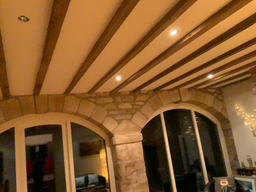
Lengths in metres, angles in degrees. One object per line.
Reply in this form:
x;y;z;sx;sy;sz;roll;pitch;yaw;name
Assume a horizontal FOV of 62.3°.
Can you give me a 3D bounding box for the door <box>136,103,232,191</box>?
1.390;1.380;5.090;2.250;2.320;0.160;-3;-13;-26;door
